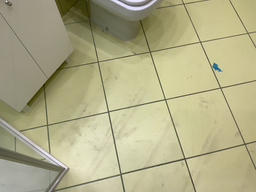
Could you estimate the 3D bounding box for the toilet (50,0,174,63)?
[{"bbox_3d":[-0.090,-0.690,1.080,0.630,0.820,0.430,31,70,11],"label":"toilet"}]
